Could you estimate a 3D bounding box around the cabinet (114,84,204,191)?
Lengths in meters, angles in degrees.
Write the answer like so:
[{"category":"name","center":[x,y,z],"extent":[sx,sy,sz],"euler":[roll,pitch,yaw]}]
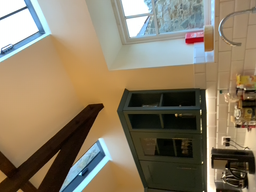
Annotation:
[{"category":"cabinet","center":[0.450,0.560,2.470],"extent":[0.350,0.810,1.450],"euler":[-71,-27,-46]}]
